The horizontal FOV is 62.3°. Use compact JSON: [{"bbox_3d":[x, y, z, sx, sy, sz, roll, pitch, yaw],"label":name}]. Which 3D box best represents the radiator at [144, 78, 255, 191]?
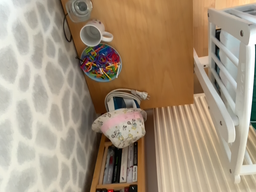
[{"bbox_3d":[0.420,0.250,0.890,0.670,0.830,0.190,-9,122,9],"label":"radiator"}]
